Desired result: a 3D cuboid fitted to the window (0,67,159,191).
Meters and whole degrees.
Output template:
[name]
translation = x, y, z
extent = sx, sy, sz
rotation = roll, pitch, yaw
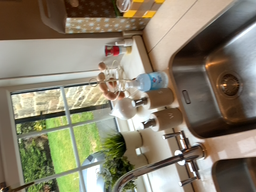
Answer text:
[window]
translation = -0.470, 0.440, 0.920
extent = 0.180, 1.230, 1.060
rotation = -41, 61, 60
